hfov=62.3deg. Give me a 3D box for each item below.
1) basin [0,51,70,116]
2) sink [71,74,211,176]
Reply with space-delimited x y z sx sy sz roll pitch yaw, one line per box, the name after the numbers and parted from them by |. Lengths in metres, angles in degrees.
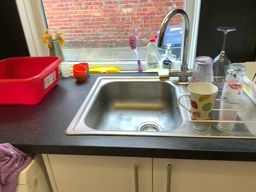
-0.530 -0.080 1.020 0.360 0.160 0.380 1 28 6 | basin
0.060 0.090 0.980 0.470 0.210 0.490 0 28 5 | sink
